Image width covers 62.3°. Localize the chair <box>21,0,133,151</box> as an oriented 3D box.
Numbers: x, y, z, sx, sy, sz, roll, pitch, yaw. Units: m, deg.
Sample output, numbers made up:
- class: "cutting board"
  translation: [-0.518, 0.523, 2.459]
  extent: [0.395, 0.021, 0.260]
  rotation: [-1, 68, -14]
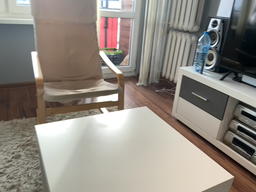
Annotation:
- class: "chair"
  translation: [-0.440, -0.260, 1.650]
  extent: [0.610, 0.980, 0.760]
  rotation: [-6, 25, -24]
